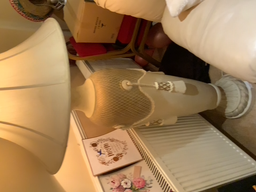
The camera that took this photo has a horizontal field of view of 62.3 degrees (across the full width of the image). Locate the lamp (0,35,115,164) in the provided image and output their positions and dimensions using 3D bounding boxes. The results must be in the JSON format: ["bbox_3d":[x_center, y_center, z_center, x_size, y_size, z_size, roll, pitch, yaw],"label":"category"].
[{"bbox_3d":[-0.400,-0.010,0.920,0.430,0.500,0.340,51,133,47],"label":"lamp"}]
